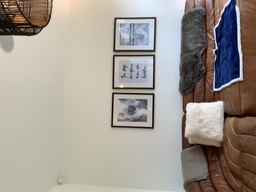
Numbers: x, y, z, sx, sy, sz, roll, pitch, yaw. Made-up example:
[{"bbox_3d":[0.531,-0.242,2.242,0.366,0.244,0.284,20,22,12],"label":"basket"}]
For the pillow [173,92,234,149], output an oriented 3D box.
[{"bbox_3d":[0.950,0.310,2.720,0.530,0.500,0.140,57,-177,9],"label":"pillow"}]
